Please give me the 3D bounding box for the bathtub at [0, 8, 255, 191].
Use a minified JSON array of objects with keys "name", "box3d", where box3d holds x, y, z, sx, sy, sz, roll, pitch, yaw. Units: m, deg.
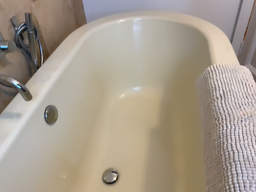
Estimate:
[{"name":"bathtub","box3d":[0.010,0.250,0.920,0.860,0.620,1.790,4,42,9]}]
